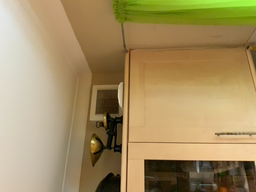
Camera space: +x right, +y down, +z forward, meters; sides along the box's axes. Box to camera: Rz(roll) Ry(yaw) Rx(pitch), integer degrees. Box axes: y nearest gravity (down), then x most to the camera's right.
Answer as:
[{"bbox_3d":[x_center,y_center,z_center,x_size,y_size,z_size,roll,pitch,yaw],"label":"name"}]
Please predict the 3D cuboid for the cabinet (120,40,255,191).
[{"bbox_3d":[0.360,0.500,1.140,0.310,0.780,1.710,80,-170,-65],"label":"cabinet"}]
